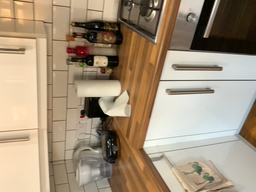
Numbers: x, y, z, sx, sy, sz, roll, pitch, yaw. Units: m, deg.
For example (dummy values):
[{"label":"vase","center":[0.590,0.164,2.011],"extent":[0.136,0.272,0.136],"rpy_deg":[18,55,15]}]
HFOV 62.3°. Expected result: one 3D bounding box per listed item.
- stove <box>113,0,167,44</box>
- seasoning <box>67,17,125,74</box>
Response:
[{"label":"stove","center":[0.060,-0.620,1.050],"extent":[0.580,0.020,0.580],"rpy_deg":[-129,44,-55]},{"label":"seasoning","center":[-0.210,-0.310,1.330],"extent":[0.180,0.300,0.290],"rpy_deg":[-128,42,-53]}]
